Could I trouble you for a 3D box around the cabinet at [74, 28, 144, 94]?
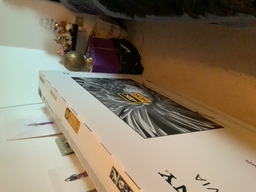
[{"bbox_3d":[-0.210,-0.340,2.140,0.370,0.460,0.520,-57,46,38],"label":"cabinet"}]
